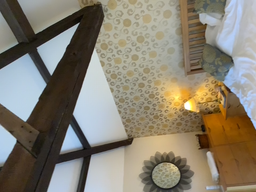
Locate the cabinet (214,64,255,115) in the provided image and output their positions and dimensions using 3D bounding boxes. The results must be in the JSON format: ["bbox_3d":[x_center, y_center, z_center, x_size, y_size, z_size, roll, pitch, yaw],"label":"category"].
[{"bbox_3d":[1.660,-0.090,3.140,0.480,0.600,0.490,-87,-15,-49],"label":"cabinet"}]
